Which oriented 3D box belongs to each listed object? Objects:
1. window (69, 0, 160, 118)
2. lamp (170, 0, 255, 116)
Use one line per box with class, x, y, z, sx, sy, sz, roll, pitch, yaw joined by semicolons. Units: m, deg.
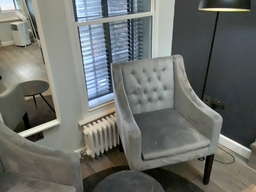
window;-0.060;-0.470;1.910;0.840;1.210;0.070;-19;32;-31
lamp;0.650;-0.390;1.560;0.530;0.880;0.350;-21;33;-32
